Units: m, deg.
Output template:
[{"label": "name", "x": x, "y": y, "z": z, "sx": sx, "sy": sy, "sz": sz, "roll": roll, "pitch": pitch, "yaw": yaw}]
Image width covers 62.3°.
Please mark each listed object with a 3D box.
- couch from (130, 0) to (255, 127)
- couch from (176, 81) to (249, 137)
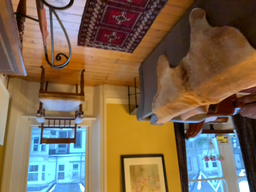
[{"label": "couch", "x": 0.950, "y": -0.340, "z": 2.050, "sx": 1.070, "sy": 0.860, "sz": 2.440, "roll": 4, "pitch": 161, "yaw": -19}, {"label": "couch", "x": 1.540, "y": 0.300, "z": 4.130, "sx": 1.050, "sy": 0.840, "sz": 0.850, "roll": -5, "pitch": 162, "yaw": 8}]
